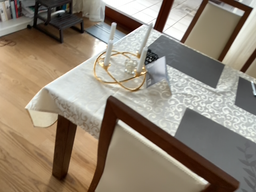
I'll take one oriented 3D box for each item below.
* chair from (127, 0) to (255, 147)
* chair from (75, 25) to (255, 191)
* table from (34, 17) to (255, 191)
[{"bbox_3d":[0.420,-0.190,1.610,0.420,1.020,0.550,30,44,13],"label":"chair"},{"bbox_3d":[0.110,0.320,0.970,0.420,1.040,0.550,31,44,13],"label":"chair"},{"bbox_3d":[0.390,0.310,1.270,1.420,0.760,0.990,30,44,12],"label":"table"}]
